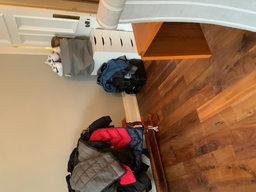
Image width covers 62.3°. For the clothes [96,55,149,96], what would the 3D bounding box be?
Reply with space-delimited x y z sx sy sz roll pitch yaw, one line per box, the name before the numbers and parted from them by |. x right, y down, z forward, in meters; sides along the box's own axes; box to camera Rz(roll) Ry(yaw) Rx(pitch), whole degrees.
clothes | -0.100 -0.270 2.970 0.550 0.560 0.320 126 137 -58

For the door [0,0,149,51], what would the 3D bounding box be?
door | -0.900 -0.890 2.830 0.950 2.160 0.120 150 116 -66

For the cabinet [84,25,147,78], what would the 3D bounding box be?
cabinet | -0.220 -0.600 3.080 0.680 0.700 0.390 124 139 -57
